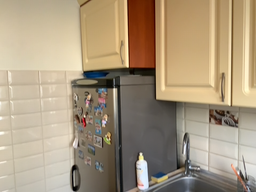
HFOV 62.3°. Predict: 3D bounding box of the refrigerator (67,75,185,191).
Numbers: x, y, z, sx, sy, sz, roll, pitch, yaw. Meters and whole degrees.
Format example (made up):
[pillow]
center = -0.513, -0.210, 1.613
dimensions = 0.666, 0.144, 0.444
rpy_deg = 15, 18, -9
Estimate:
[refrigerator]
center = -0.010, 0.620, 1.680
dimensions = 0.660, 1.550, 0.610
rpy_deg = -5, 6, -37
